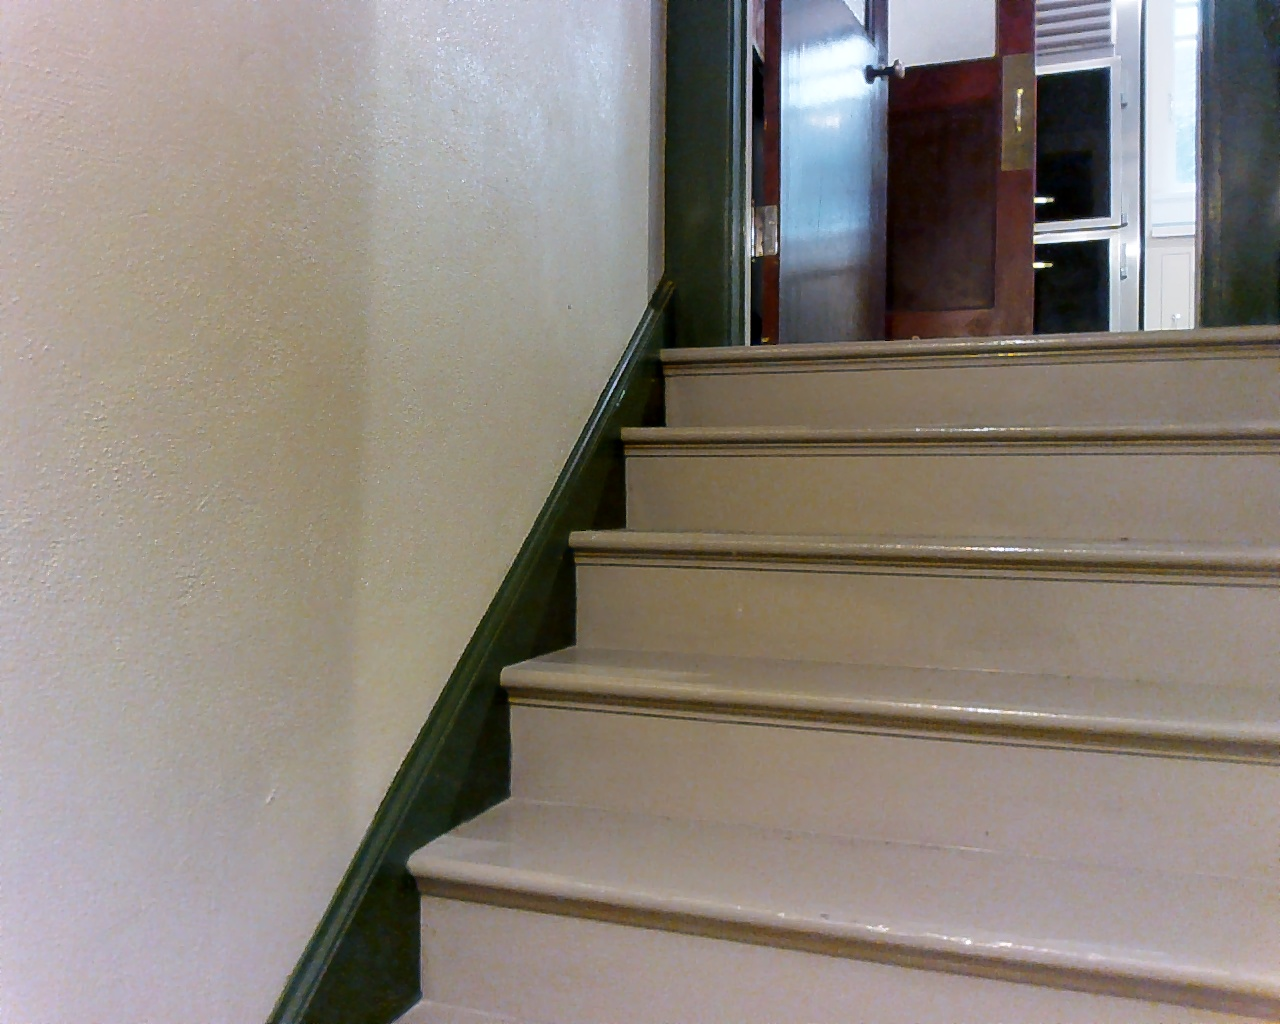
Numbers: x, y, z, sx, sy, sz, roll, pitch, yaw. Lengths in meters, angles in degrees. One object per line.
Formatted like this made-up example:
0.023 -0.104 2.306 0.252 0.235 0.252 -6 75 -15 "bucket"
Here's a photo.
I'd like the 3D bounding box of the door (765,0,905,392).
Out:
0.560 -1.520 2.900 0.100 2.300 0.890 1 1 27 "door"
